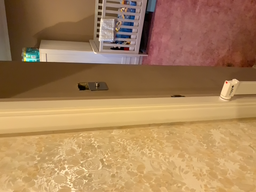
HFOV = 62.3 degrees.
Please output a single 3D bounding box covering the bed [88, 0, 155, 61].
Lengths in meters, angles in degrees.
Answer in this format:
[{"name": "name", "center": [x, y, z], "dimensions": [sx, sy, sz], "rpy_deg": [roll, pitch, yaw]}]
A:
[{"name": "bed", "center": [-0.150, -1.500, 3.610], "dimensions": [0.780, 0.910, 1.590], "rpy_deg": [-119, 33, -56]}]
